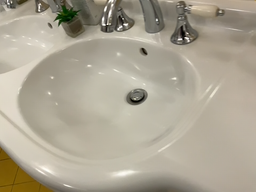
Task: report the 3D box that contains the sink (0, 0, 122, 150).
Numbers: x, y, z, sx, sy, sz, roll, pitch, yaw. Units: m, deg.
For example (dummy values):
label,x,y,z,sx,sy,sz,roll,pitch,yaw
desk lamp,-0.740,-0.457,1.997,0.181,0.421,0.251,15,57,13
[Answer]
label,x,y,z,sx,sy,sz,roll,pitch,yaw
sink,-0.450,-0.190,0.860,0.650,0.200,0.520,27,60,35

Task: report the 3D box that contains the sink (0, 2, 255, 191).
label,x,y,z,sx,sy,sz,roll,pitch,yaw
sink,0.020,0.040,0.490,0.650,0.200,0.520,27,60,35
